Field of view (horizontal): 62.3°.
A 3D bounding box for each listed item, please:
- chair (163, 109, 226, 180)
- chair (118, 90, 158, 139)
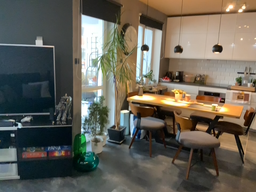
[{"bbox_3d":[0.850,0.610,2.830,0.570,0.760,0.490,0,11,-13],"label":"chair"},{"bbox_3d":[0.200,0.330,4.160,0.570,0.780,0.490,9,12,31],"label":"chair"}]
